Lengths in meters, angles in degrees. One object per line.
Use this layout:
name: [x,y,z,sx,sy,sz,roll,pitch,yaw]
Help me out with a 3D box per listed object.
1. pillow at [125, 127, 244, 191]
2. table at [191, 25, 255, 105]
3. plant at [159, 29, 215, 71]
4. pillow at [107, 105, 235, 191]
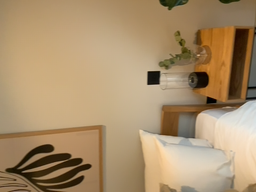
pillow: [0.350,0.570,1.130,0.620,0.470,0.210,63,170,-24]
table: [0.770,-0.200,1.350,0.300,0.620,0.420,-146,55,-68]
plant: [0.340,-0.270,1.250,0.140,0.270,0.220,-143,52,-67]
pillow: [0.300,0.510,1.350,0.710,0.550,0.160,58,172,-21]
